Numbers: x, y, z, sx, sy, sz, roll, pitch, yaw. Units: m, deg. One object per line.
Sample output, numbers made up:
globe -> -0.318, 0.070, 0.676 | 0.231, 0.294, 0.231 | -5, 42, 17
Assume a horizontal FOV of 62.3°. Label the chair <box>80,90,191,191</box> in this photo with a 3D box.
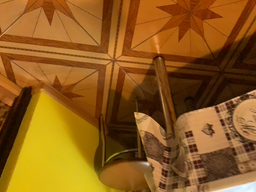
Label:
chair -> 0.070, 0.480, 1.340 | 0.410, 0.770, 0.570 | -27, 132, 24
